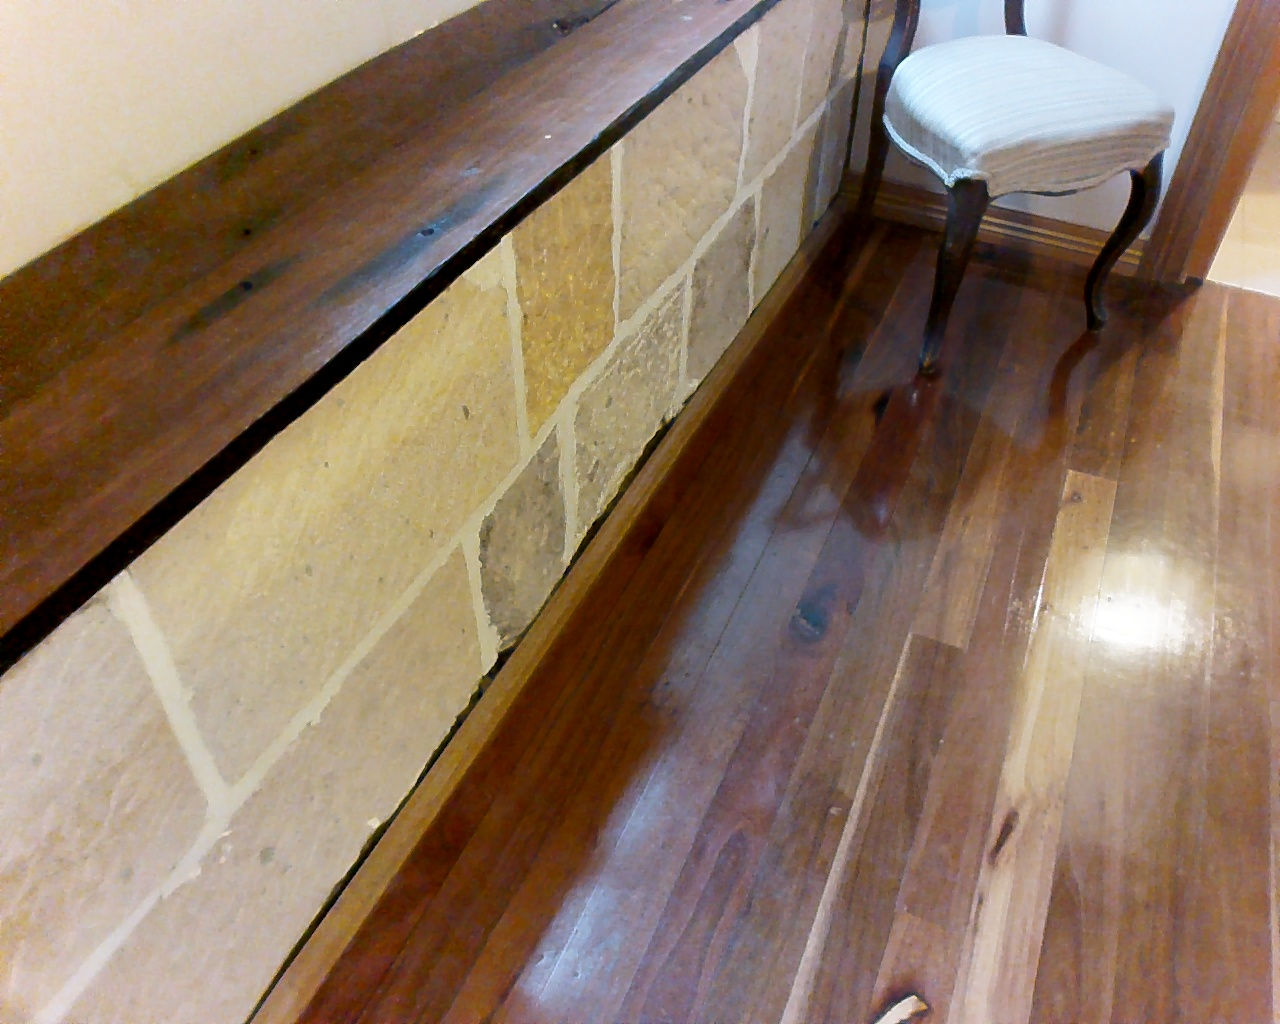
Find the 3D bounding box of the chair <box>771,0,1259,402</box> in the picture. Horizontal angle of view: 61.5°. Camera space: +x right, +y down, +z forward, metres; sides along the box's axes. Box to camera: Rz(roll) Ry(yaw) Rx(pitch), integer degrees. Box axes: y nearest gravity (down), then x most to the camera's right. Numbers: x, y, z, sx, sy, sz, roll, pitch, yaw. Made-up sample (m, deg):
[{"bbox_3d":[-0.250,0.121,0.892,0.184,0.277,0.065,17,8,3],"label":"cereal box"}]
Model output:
[{"bbox_3d":[0.640,-0.770,1.950,0.500,0.890,0.550,-17,46,-20],"label":"chair"}]
